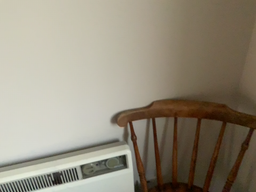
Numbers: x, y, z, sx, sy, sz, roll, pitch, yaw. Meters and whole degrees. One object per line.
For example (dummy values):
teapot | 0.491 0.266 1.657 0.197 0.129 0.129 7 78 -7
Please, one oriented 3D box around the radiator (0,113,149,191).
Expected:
radiator | -0.290 0.410 0.800 0.720 0.580 0.150 -11 35 -12
